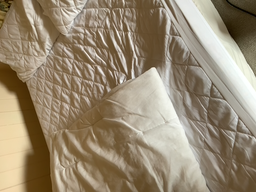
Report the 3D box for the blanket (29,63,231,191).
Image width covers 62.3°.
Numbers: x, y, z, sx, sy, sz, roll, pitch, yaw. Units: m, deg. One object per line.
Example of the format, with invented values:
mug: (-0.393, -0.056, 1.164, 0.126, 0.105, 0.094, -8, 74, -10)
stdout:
blanket: (-0.100, 0.480, 1.090, 1.090, 0.210, 0.790, -37, 69, 36)
